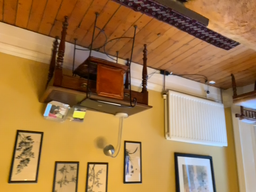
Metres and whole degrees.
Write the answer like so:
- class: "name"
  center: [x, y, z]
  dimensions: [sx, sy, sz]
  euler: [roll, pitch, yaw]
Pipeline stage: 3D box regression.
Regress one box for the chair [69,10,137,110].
- class: "chair"
  center: [-0.260, -0.330, 2.230]
  dimensions: [0.480, 0.790, 0.530]
  euler: [12, 160, -27]
